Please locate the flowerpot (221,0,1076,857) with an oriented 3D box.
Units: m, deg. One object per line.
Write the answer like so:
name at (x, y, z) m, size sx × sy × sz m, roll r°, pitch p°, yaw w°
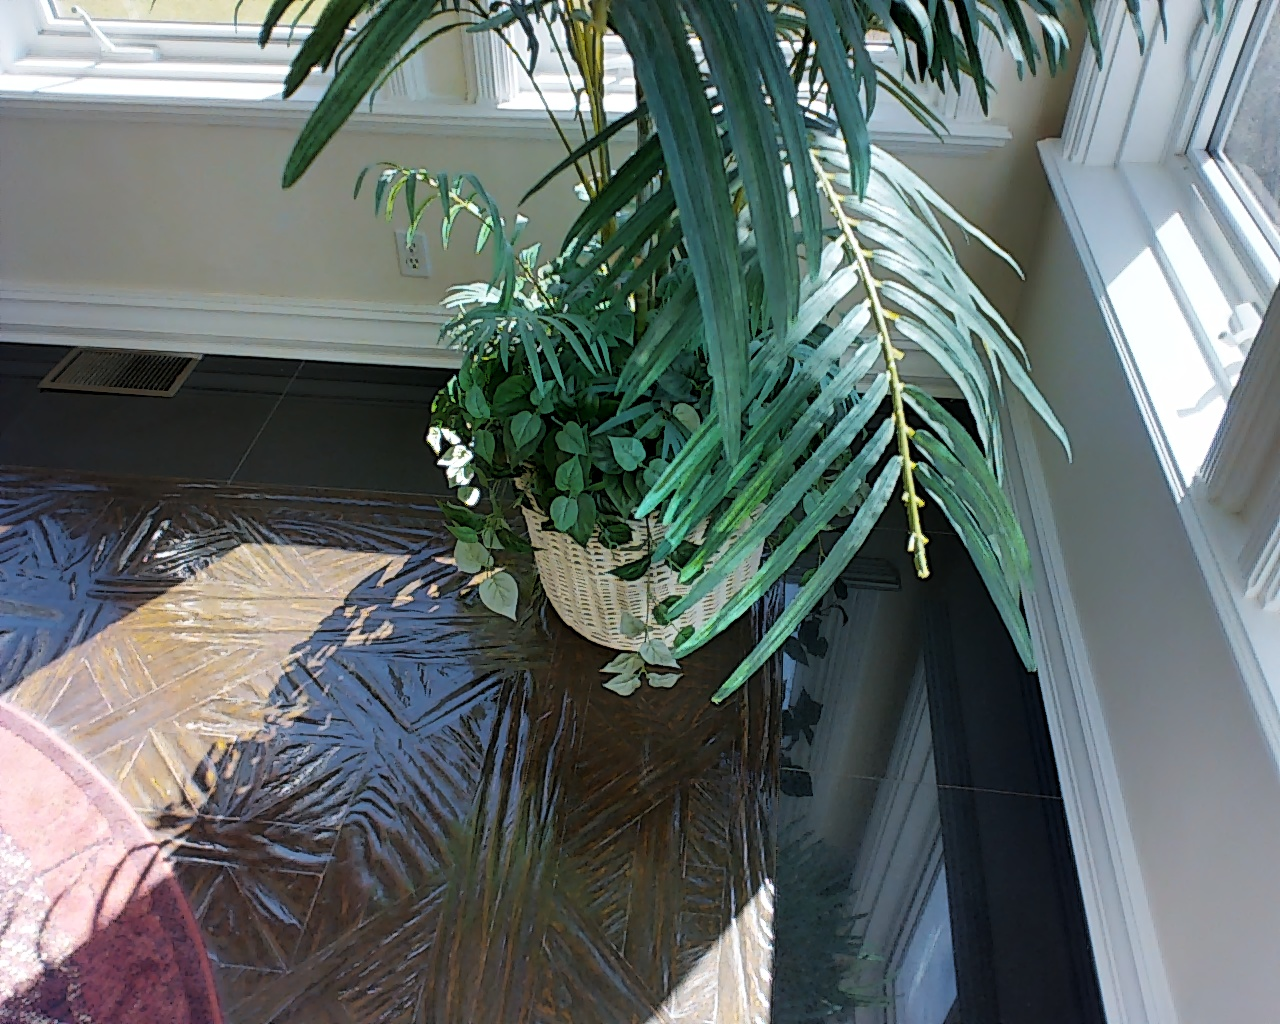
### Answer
flowerpot at (-0.020, -0.240, 1.670) m, size 0.780 × 1.160 × 0.730 m, roll -25°, pitch 47°, yaw -25°
